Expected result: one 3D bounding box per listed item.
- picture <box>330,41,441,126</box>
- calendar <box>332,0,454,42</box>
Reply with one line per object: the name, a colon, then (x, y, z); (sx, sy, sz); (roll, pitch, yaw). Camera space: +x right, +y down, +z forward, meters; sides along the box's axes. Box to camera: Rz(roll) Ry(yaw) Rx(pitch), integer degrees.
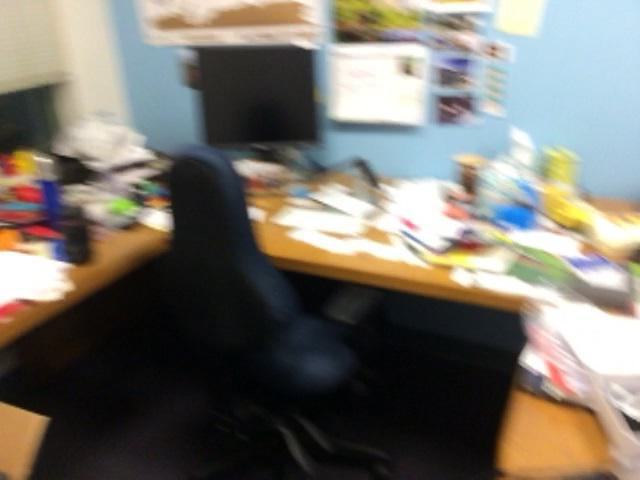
picture: (0.220, -0.530, 1.960); (0.360, 0.260, 0.070); (7, 26, 24)
calendar: (0.230, -0.770, 1.860); (0.380, 0.230, 0.090); (7, 26, 24)
